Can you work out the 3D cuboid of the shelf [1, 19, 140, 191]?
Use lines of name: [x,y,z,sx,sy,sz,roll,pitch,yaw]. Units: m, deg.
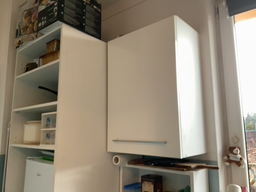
shelf: [-0.400,0.300,1.540,0.700,1.310,0.670,-8,-12,41]
